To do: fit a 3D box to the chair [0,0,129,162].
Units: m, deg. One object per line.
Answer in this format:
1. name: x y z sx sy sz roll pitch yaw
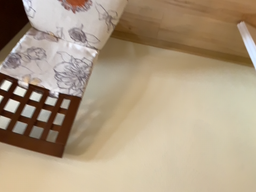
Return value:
1. chair: -0.270 -0.340 0.890 0.450 0.950 0.580 19 137 -10
